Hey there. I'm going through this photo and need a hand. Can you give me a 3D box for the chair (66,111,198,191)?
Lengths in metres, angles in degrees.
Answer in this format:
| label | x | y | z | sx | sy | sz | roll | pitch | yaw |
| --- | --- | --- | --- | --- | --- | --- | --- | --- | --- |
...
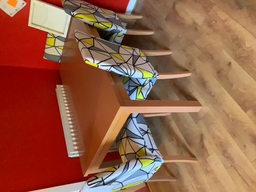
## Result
| label | x | y | z | sx | sy | sz | roll | pitch | yaw |
| --- | --- | --- | --- | --- | --- | --- | --- | --- | --- |
| chair | 0.020 | 0.450 | 1.740 | 0.410 | 0.890 | 0.480 | -61 | 41 | 37 |
